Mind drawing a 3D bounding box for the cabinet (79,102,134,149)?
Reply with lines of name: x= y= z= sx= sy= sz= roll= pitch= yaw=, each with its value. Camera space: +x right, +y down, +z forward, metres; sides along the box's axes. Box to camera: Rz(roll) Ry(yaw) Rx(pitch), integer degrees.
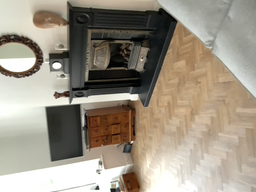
cabinet: x=-0.400 y=0.500 z=3.880 sx=0.500 sy=0.870 sz=0.620 roll=-148 pitch=57 yaw=-65
